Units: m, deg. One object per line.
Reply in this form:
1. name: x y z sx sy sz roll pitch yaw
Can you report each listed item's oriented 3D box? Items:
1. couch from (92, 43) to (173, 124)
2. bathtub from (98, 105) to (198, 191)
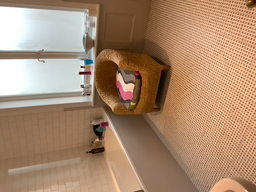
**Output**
1. couch: 0.000 -0.210 2.900 0.740 0.770 0.800 -127 39 -52
2. bathtub: 0.120 0.980 3.080 1.890 0.570 0.800 -127 39 -52
